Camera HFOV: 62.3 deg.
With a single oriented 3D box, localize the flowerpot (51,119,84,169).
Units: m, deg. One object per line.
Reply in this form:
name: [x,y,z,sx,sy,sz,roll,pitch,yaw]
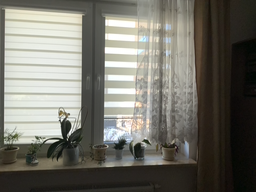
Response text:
flowerpot: [-0.500,0.390,1.780,0.240,0.370,0.180,1,1,-8]
